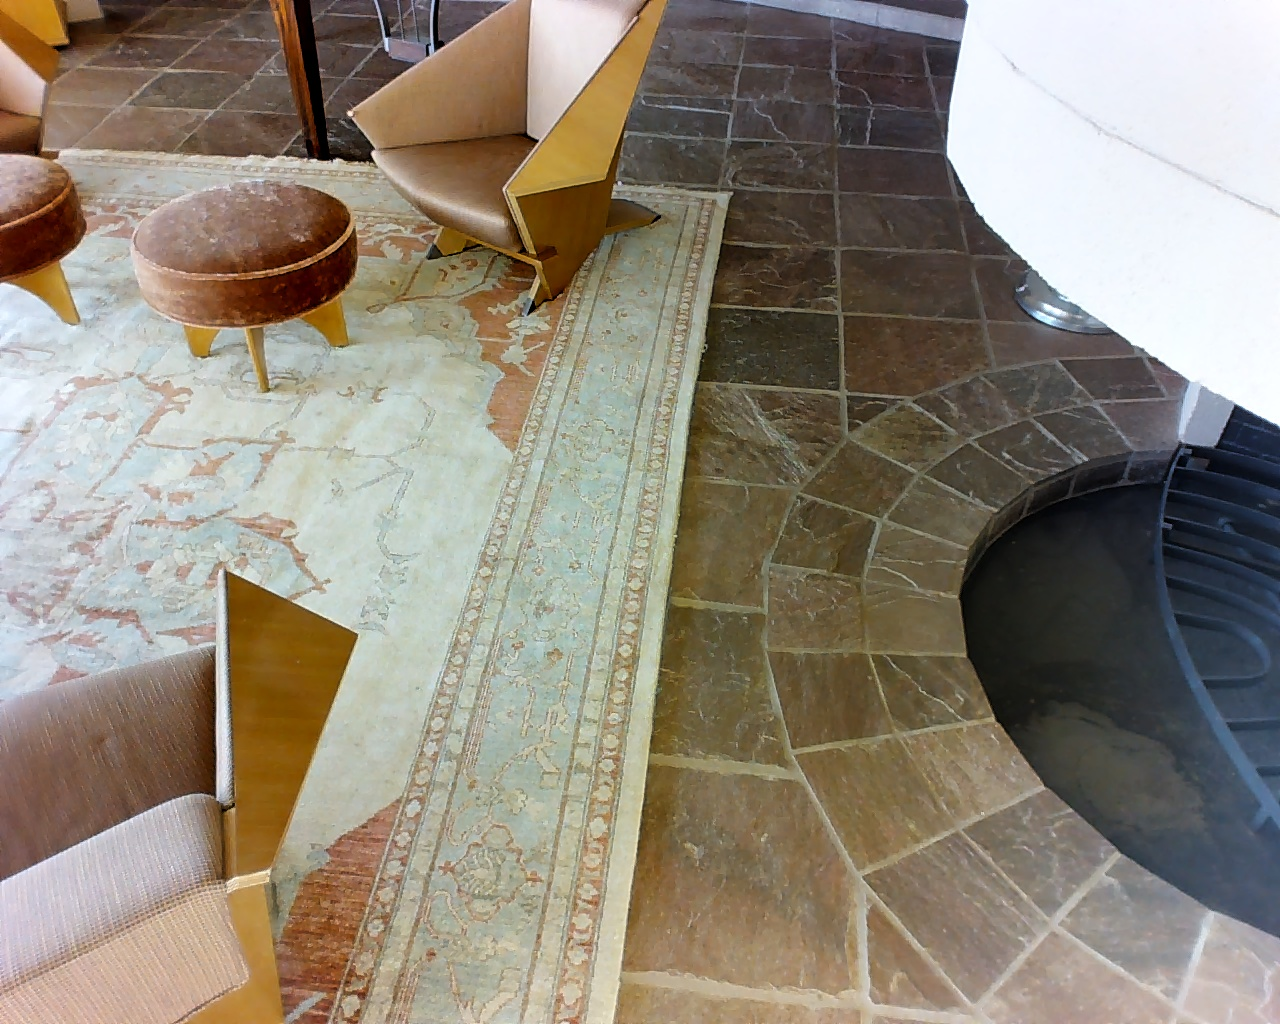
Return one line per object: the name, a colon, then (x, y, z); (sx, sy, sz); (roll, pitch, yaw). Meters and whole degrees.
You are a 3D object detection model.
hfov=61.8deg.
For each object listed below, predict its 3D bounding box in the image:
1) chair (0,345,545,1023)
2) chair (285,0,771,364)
chair: (-0.750, 0.450, 1.360); (0.930, 0.750, 0.890); (-22, 46, -23)
chair: (-0.310, -1.130, 3.150); (0.980, 0.760, 0.900); (33, 52, 32)
